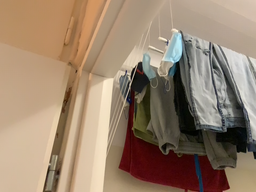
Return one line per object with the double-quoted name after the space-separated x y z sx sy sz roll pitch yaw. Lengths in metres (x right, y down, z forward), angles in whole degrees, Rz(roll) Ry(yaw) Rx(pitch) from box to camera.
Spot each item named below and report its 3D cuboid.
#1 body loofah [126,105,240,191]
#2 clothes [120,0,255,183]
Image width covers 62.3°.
0.330 0.330 1.280 0.670 0.370 0.150 16 -33 -20 "body loofah"
0.690 0.030 1.210 1.330 0.760 0.510 17 -34 -22 "clothes"
